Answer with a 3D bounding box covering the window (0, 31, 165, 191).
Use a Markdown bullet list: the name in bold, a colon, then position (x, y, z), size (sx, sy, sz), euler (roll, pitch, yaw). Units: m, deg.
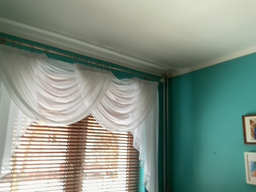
- **window**: position (-0.380, 0.520, 1.940), size (1.790, 1.790, 0.190), euler (10, -14, -33)
